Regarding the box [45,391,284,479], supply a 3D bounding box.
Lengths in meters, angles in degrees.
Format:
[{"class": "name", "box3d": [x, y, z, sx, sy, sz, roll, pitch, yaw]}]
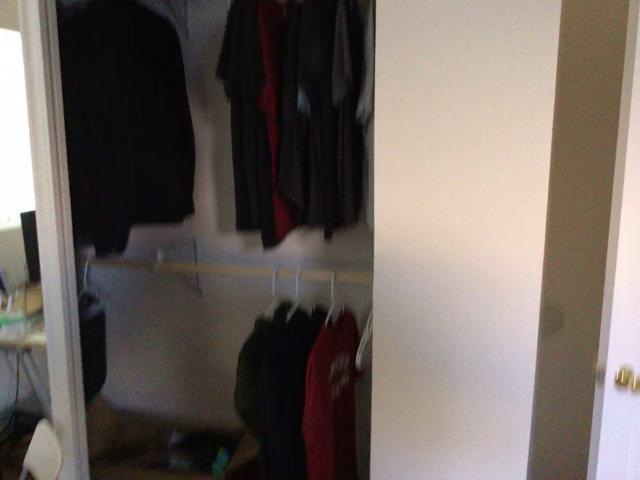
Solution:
[{"class": "box", "box3d": [-0.580, 0.910, 2.220, 0.840, 0.510, 0.280, 1, 7, 12]}]
